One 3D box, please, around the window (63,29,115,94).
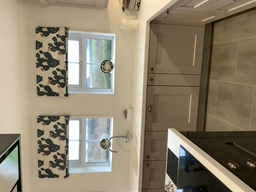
[{"bbox_3d":[-0.610,-0.520,3.340,0.110,0.760,0.970,-129,41,-74],"label":"window"}]
